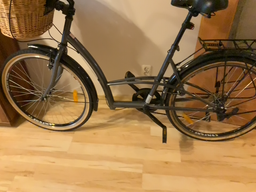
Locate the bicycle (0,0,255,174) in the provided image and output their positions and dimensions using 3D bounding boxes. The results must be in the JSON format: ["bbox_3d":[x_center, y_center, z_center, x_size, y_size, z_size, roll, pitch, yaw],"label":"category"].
[{"bbox_3d":[0.060,-0.120,1.220,1.740,1.120,0.420,4,39,5],"label":"bicycle"}]
